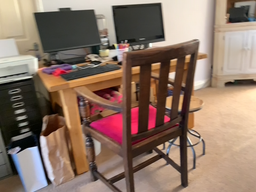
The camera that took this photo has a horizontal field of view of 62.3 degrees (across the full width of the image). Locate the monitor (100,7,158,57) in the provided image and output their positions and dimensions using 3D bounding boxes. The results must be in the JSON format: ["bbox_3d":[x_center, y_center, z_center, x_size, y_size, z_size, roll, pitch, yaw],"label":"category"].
[{"bbox_3d":[0.030,-0.650,2.130,0.590,0.420,0.040,-13,22,-22],"label":"monitor"}]

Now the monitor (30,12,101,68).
[{"bbox_3d":[-0.520,-0.500,1.840,0.520,0.420,0.050,-16,9,-32],"label":"monitor"}]
